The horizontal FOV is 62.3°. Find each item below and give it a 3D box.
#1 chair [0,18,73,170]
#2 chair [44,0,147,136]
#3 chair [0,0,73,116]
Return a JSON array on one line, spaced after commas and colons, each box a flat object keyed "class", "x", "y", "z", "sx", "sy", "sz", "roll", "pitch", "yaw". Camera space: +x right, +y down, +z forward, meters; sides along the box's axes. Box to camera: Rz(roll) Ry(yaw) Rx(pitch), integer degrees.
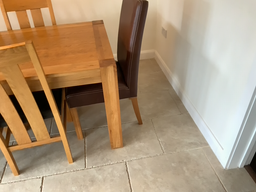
[{"class": "chair", "x": -0.720, "y": 0.010, "z": 1.500, "sx": 0.470, "sy": 0.930, "sz": 0.450, "roll": -9, "pitch": 38, "yaw": -8}, {"class": "chair", "x": -0.210, "y": -0.240, "z": 1.750, "sx": 0.610, "sy": 0.990, "sz": 0.500, "roll": -9, "pitch": 38, "yaw": -7}, {"class": "chair", "x": -0.850, "y": -0.340, "z": 1.980, "sx": 0.470, "sy": 0.930, "sz": 0.450, "roll": -9, "pitch": 38, "yaw": -8}]
